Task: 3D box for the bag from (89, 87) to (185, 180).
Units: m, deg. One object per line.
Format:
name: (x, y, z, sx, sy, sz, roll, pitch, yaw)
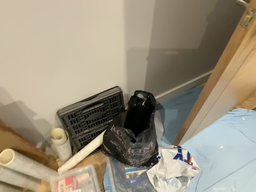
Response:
bag: (0.040, 0.200, 1.110, 0.370, 0.280, 0.250, -27, 62, -16)
